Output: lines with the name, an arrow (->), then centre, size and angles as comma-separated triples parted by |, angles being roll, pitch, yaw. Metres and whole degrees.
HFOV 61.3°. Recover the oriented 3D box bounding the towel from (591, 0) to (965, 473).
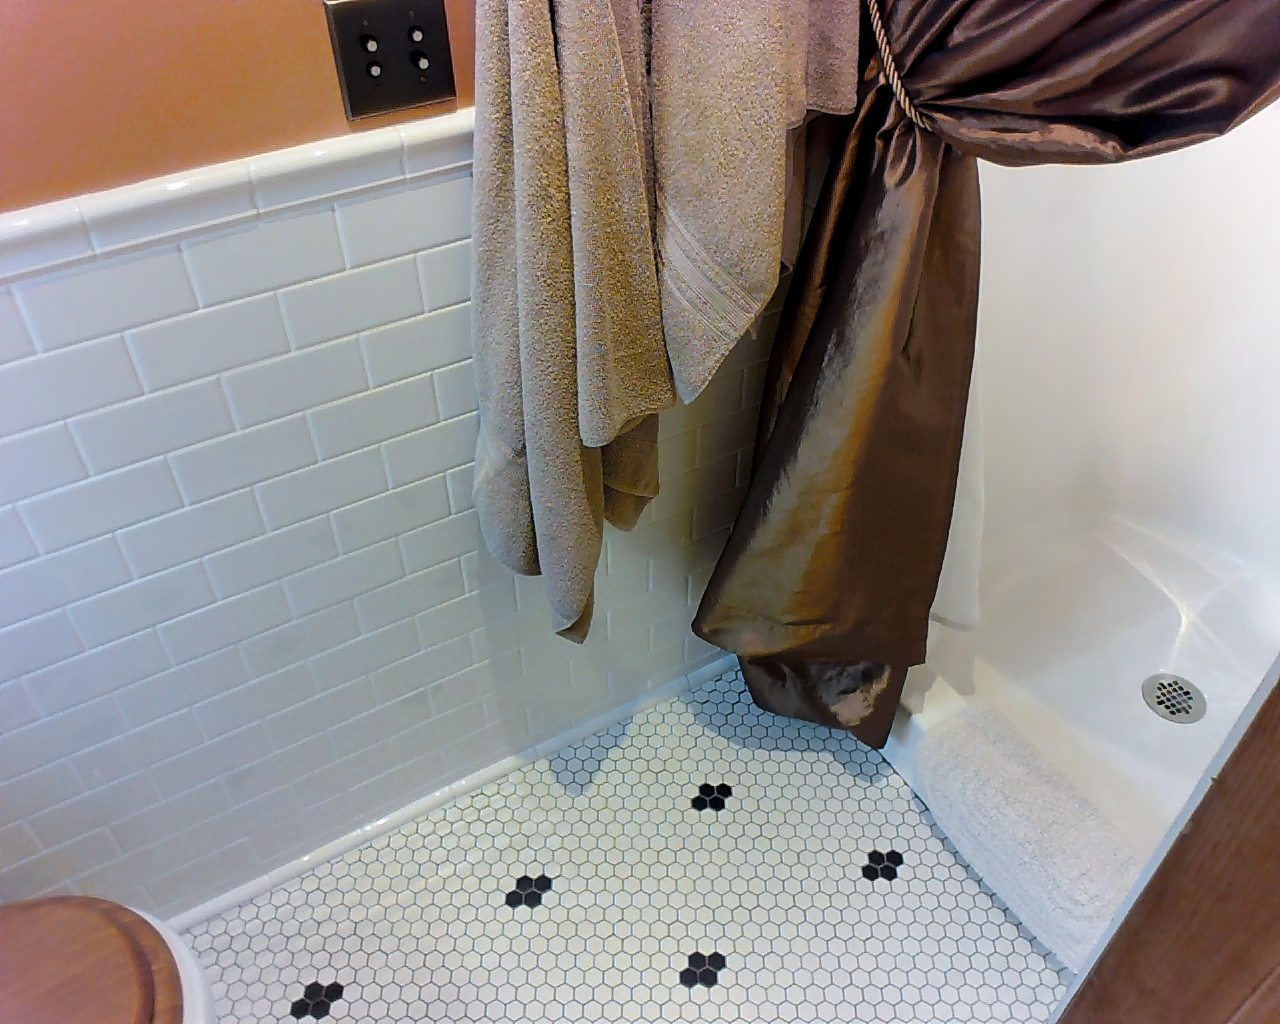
towel -> 0.140, -0.560, 1.080 | 0.320, 1.080, 0.210 | -22, 47, -21
